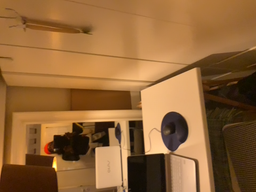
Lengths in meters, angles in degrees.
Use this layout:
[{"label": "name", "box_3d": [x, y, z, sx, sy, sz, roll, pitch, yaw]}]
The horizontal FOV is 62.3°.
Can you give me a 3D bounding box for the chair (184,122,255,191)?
[{"label": "chair", "box_3d": [0.730, 0.320, 1.160, 0.380, 0.720, 0.350, 164, 106, -64]}]
